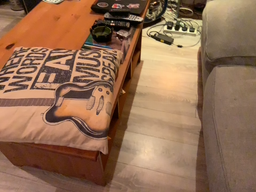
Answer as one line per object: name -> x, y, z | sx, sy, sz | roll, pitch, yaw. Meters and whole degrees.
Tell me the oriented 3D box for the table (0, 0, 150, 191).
table -> -0.250, -0.150, 1.190 | 0.570, 0.540, 1.110 | 9, 49, 7
